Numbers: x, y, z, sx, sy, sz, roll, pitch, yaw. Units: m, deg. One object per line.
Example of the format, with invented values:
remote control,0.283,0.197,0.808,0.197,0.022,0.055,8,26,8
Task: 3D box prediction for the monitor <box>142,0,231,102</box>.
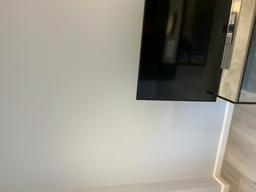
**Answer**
monitor,0.430,-0.510,1.540,0.060,0.640,1.100,-133,42,-69
